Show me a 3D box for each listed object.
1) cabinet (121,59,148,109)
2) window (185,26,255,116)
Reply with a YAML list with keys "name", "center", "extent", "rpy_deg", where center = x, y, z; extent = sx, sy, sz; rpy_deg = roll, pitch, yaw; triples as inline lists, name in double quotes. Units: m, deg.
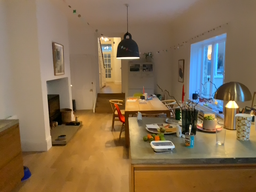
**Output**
- name: "cabinet"
  center: [0.240, -0.440, 7.660]
  extent: [0.930, 1.720, 0.440]
  rpy_deg: [-1, 9, -3]
- name: "window"
  center: [1.890, -0.580, 4.820]
  extent: [0.540, 1.560, 2.260]
  rpy_deg: [-1, 9, 0]
